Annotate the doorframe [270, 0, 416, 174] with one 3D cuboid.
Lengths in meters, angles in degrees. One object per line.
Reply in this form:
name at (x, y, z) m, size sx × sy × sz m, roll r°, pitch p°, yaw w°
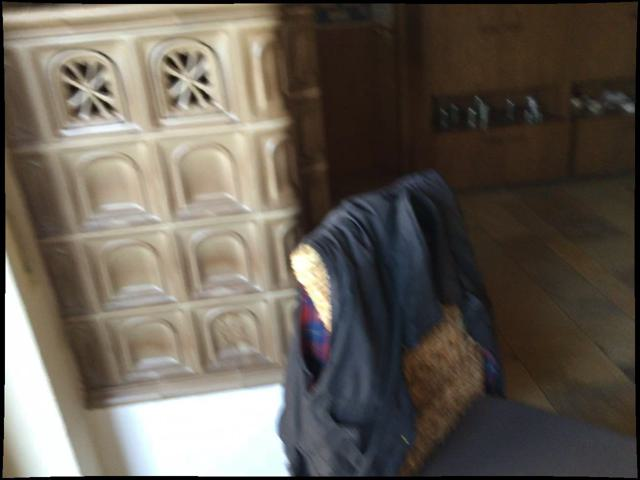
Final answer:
doorframe at (0.160, -1.431, 3.990) m, size 0.959 × 1.892 × 0.220 m, roll -6°, pitch 26°, yaw -6°
